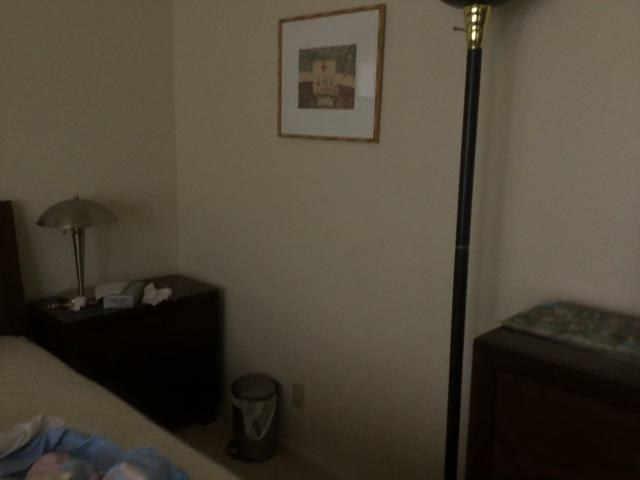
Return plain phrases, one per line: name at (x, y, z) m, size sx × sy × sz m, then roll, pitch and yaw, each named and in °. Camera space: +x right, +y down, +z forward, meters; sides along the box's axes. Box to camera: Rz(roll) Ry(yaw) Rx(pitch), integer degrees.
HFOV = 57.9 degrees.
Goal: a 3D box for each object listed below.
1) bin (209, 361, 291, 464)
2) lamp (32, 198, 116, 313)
bin at (-0.300, 0.720, 2.460) m, size 0.270 × 0.300 × 0.220 m, roll 10°, pitch 12°, yaw 43°
lamp at (-1.010, 0.050, 2.370) m, size 0.330 × 0.410 × 0.190 m, roll 10°, pitch 12°, yaw 43°
